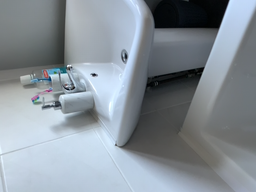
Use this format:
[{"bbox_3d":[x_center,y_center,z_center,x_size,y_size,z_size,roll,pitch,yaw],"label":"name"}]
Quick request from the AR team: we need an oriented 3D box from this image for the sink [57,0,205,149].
[{"bbox_3d":[-0.080,-0.210,0.830,0.620,0.200,0.490,45,136,42],"label":"sink"}]
